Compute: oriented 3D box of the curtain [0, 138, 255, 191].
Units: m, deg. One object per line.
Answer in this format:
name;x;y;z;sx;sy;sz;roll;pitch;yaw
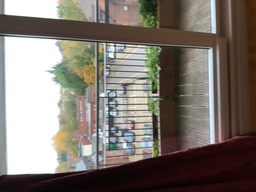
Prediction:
curtain;-0.010;0.600;1.390;0.310;2.200;0.480;168;101;-73
